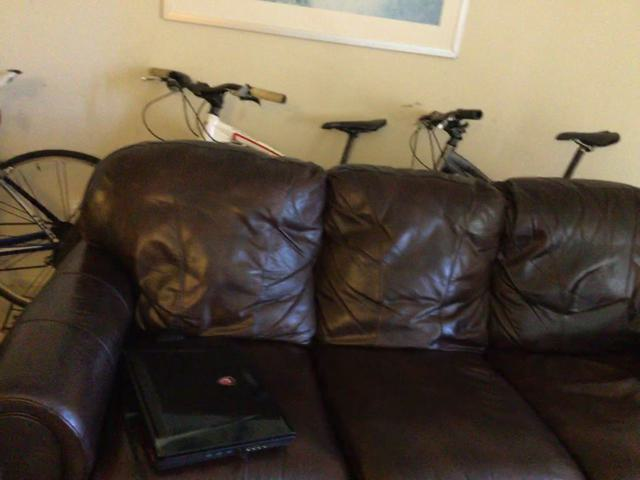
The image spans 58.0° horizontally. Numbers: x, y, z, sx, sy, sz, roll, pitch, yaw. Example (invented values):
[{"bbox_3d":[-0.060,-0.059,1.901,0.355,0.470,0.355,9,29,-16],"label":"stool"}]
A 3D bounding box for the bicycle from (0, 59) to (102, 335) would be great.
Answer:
[{"bbox_3d":[-1.500,-0.150,1.960,1.280,0.930,0.470,-3,26,-37],"label":"bicycle"}]

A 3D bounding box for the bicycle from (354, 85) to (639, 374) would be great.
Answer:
[{"bbox_3d":[0.890,-0.030,2.440,1.210,0.930,0.570,7,21,-14],"label":"bicycle"}]

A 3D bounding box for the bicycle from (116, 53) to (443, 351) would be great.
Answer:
[{"bbox_3d":[-0.200,-0.130,2.300,1.030,0.950,0.470,7,21,-14],"label":"bicycle"}]
